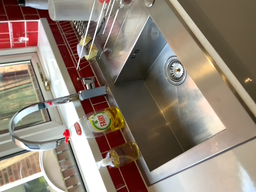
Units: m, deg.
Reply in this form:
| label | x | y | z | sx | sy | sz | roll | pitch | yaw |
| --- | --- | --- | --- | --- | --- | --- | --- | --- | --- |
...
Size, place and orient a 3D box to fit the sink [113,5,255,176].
| label | x | y | z | sx | sy | sz | roll | pitch | yaw |
| --- | --- | --- | --- | --- | --- | --- | --- | --- | --- |
| sink | 0.160 | 0.010 | 0.830 | 0.460 | 0.130 | 0.490 | 64 | 146 | 22 |
